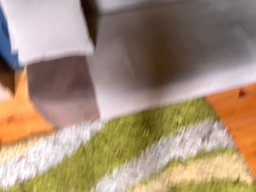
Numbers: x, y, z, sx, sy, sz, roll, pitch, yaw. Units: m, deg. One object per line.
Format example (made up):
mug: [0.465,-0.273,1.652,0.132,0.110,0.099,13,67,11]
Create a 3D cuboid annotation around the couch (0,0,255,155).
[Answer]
couch: [0.370,-0.590,1.130,1.930,0.930,1.060,-14,59,-8]
